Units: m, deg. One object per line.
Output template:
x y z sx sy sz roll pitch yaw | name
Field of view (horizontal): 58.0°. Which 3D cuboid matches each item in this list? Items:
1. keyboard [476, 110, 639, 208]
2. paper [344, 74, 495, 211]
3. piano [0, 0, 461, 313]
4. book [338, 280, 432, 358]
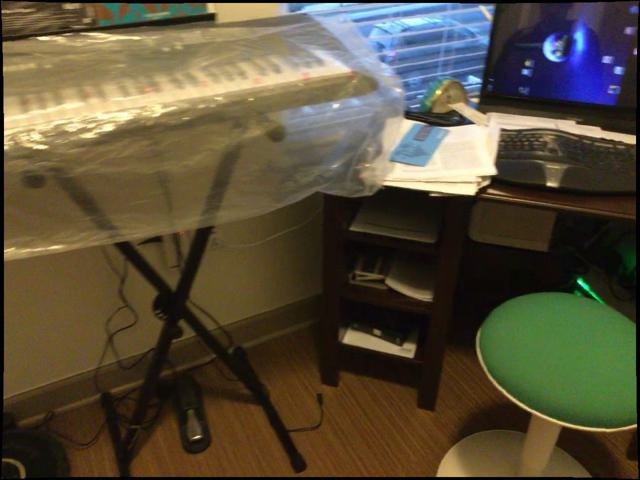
0.628 -0.180 1.280 0.529 0.060 0.300 8 36 13 | keyboard
0.239 -0.241 1.330 0.289 0.140 0.370 8 36 12 | paper
-0.329 -0.221 1.090 1.078 0.321 0.460 -17 38 -22 | piano
0.190 0.221 1.660 0.230 0.060 0.200 10 37 15 | book
